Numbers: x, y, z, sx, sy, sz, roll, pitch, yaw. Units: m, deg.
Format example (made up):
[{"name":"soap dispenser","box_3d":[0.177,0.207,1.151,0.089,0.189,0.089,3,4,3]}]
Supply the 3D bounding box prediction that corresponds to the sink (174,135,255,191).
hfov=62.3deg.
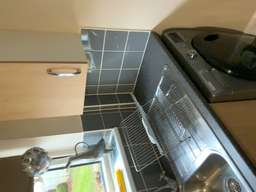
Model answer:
[{"name":"sink","box_3d":[0.470,0.480,0.960,0.420,0.240,0.400,106,152,-42]}]
